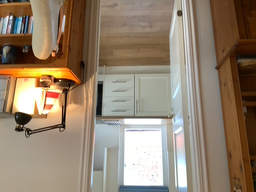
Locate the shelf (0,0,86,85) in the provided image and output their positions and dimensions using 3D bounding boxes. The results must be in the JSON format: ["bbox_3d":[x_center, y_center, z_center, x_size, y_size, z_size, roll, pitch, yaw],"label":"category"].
[{"bbox_3d":[-0.800,-0.580,1.610,0.860,0.940,0.310,-1,166,3],"label":"shelf"}]
